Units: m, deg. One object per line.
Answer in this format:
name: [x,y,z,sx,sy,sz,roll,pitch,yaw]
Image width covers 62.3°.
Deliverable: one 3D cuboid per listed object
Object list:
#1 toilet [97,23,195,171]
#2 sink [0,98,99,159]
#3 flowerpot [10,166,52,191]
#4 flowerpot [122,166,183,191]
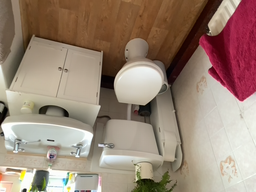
toilet: [0.060,0.020,1.680,0.440,0.890,0.670,9,141,-15]
sink: [-0.540,0.250,1.480,0.610,0.210,0.370,9,141,-14]
flowerpot: [-0.680,0.620,1.510,0.230,0.180,0.150,9,141,-15]
flowerpot: [0.170,0.710,1.580,0.380,0.260,0.290,5,142,-10]
